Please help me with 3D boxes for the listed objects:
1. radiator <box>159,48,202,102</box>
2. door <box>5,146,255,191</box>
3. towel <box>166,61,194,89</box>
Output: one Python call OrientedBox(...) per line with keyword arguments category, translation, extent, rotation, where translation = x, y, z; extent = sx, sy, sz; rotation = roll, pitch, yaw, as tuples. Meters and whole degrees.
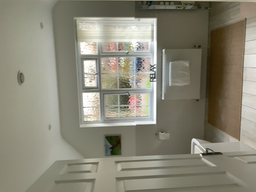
OrientedBox(category="radiator", translation=(0.850, -0.340, 3.470), extent=(0.140, 0.640, 0.850), rotation=(-115, 25, -79))
OrientedBox(category="door", translation=(0.470, 0.430, 1.230), extent=(0.810, 2.060, 0.050), rotation=(172, 97, -85))
OrientedBox(category="towel", translation=(0.810, -0.330, 3.320), extent=(0.140, 0.400, 0.420), rotation=(-115, 25, -79))
